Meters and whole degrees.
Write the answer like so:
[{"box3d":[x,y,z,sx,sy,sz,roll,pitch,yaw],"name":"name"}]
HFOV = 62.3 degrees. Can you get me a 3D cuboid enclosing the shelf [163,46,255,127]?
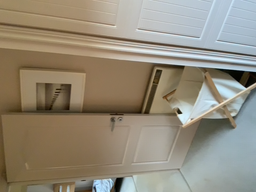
[{"box3d":[0.740,-0.080,1.930,0.470,0.560,0.530,-113,31,-50],"name":"shelf"}]
